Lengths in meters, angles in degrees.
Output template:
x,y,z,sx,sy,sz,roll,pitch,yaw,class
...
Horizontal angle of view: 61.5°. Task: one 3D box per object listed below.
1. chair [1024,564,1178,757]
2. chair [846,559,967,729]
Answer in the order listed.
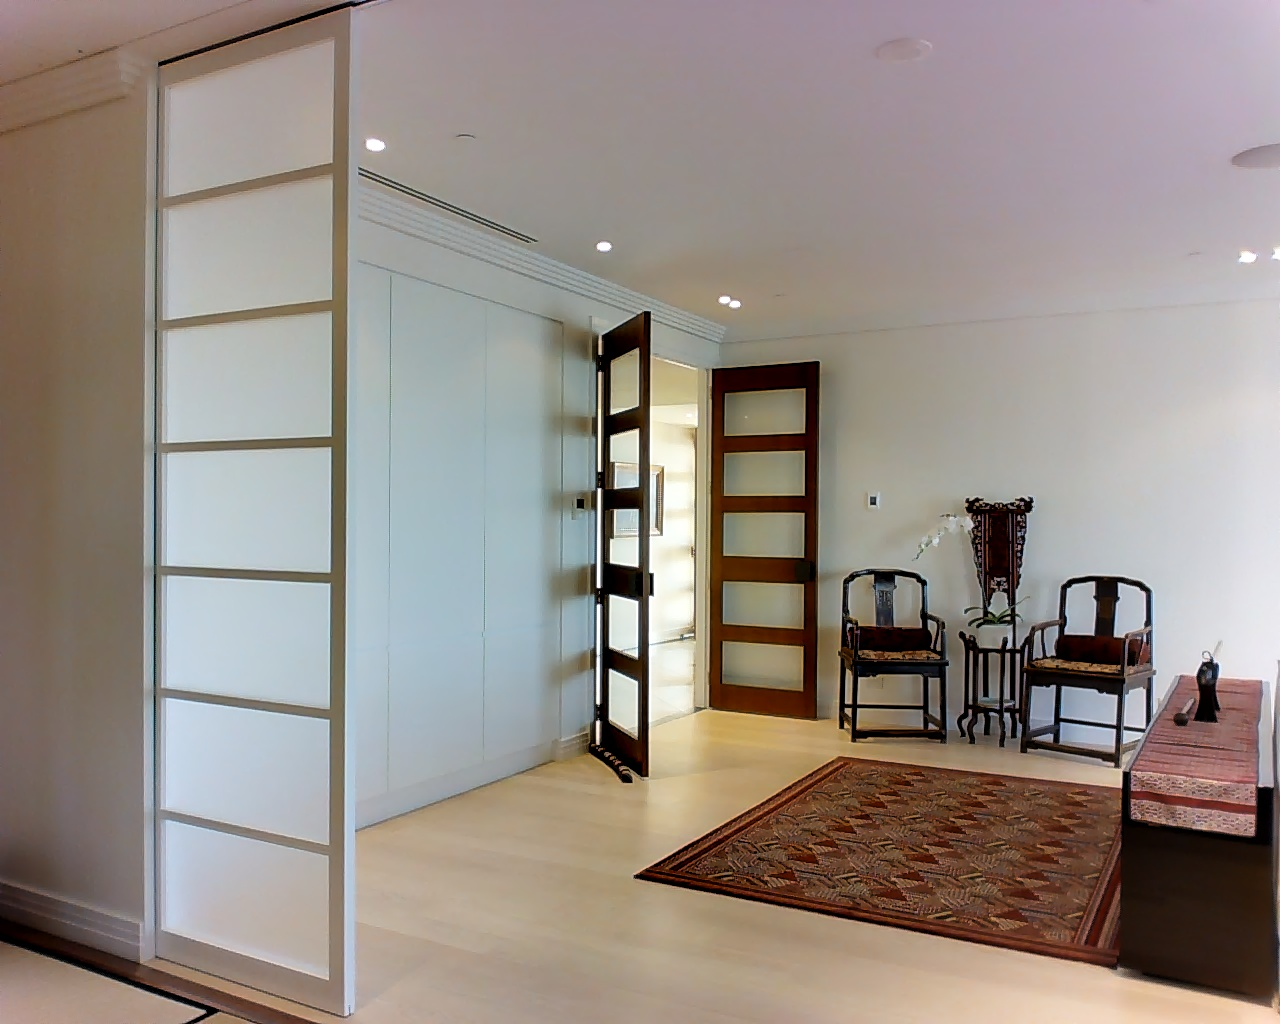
x,y,z,sx,sy,sz,roll,pitch,yaw,class
2.729,0.840,6.370,0.590,1.020,0.650,0,0,-44,chair
1.700,0.830,6.930,0.650,1.020,0.540,1,0,2,chair
